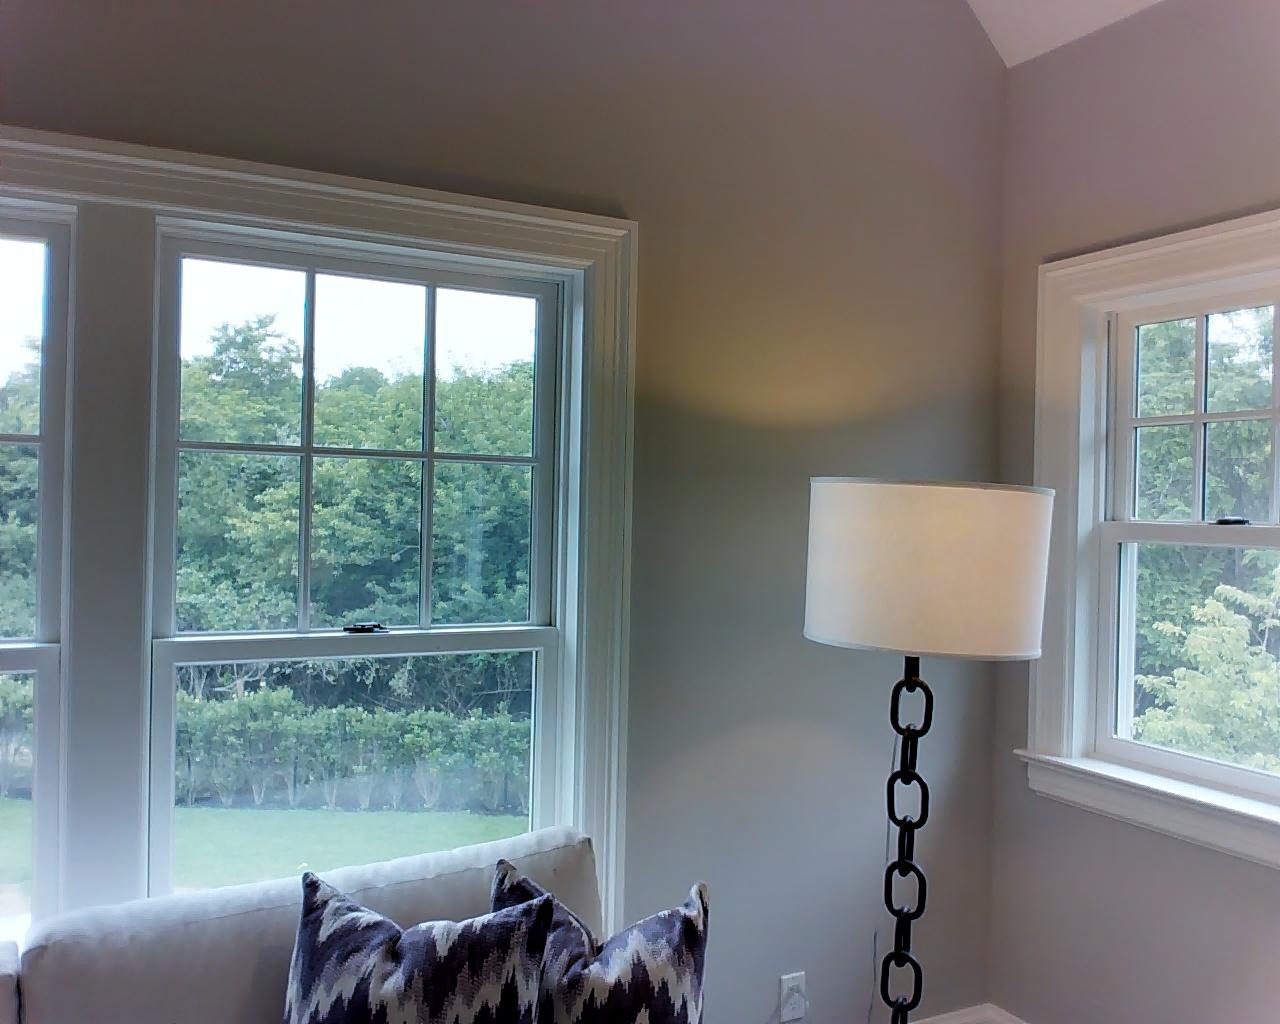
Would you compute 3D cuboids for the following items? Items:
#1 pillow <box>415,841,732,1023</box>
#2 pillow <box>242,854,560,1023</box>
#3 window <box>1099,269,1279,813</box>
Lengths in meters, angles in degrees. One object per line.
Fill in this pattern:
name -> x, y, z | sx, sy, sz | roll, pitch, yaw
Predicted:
pillow -> -0.110, 0.840, 1.830 | 0.490, 0.460, 0.310 | 1, 0, -2
pillow -> -0.370, 0.820, 1.720 | 0.460, 0.460, 0.240 | 1, 0, -7
window -> 1.370, 0.060, 2.490 | 0.070, 1.190, 0.640 | 1, 0, -28
